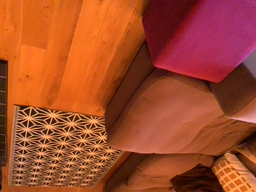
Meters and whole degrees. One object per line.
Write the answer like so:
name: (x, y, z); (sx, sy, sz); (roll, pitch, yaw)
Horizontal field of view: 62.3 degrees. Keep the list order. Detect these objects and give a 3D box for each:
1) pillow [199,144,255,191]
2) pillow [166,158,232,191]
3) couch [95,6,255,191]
pillow: (0.990, 0.740, 1.870); (0.230, 0.510, 0.470); (-28, 169, -24)
pillow: (0.700, 0.900, 2.120); (0.160, 0.430, 0.480); (-33, 174, -42)
couch: (0.660, 0.760, 2.270); (1.210, 0.750, 2.950); (10, 137, -22)
